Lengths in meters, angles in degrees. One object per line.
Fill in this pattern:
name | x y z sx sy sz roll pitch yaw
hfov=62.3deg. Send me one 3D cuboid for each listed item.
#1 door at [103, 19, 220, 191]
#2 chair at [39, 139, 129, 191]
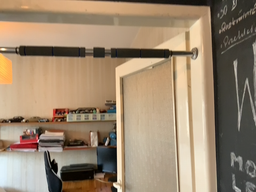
door | 0.100 0.690 1.230 0.200 1.930 0.910 1 -4 -26
chair | -0.520 1.160 2.360 0.850 1.220 0.720 1 -4 -23
